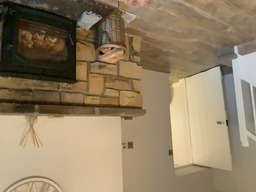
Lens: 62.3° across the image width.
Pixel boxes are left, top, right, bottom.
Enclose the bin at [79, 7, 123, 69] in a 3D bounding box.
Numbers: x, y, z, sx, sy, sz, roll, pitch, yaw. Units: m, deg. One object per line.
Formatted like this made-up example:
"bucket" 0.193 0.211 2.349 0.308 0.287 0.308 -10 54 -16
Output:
"bin" -0.270 -0.540 2.070 0.290 0.440 0.320 5 169 -40
